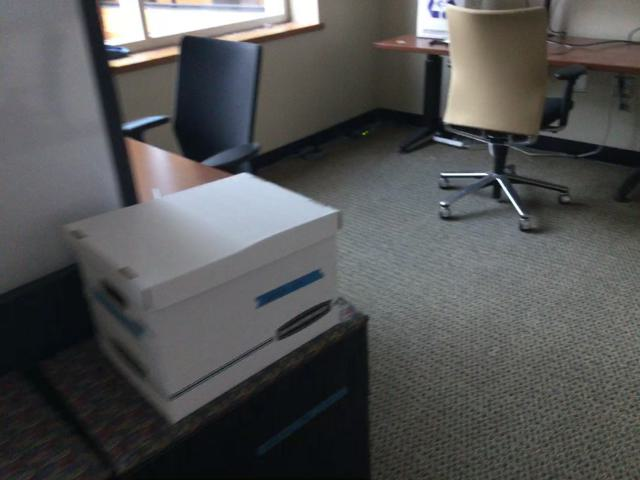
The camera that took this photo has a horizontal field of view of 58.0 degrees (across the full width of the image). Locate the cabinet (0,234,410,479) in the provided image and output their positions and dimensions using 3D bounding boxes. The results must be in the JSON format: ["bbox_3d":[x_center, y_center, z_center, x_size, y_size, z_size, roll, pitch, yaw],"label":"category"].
[{"bbox_3d":[-0.210,0.440,1.330,0.480,0.610,0.690,15,33,41],"label":"cabinet"}]

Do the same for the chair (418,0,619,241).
[{"bbox_3d":[0.920,-0.620,2.710,0.660,1.010,0.550,15,33,41],"label":"chair"}]

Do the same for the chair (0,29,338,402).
[{"bbox_3d":[-0.520,-0.160,2.110,0.770,1.020,0.730,15,33,41],"label":"chair"}]
